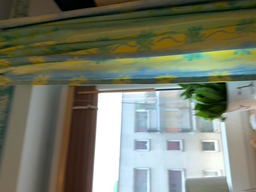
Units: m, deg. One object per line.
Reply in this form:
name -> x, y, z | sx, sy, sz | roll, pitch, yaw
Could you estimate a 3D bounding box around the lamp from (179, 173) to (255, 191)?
lamp -> 0.380, 0.400, 0.780 | 0.160, 0.360, 0.200 | 54, -145, -71
